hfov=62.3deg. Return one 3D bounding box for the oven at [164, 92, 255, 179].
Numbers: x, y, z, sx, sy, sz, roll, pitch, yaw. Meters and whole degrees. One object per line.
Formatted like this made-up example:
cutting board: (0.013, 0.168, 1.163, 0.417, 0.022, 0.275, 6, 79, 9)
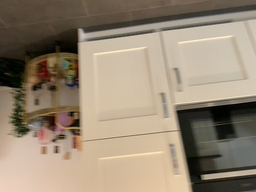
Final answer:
oven: (0.630, 0.320, 1.530, 0.610, 0.450, 0.630, -7, 160, 2)
